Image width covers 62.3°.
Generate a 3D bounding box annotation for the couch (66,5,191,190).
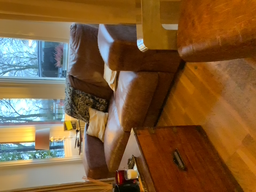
[{"bbox_3d":[-0.190,0.080,2.220,0.910,0.740,1.610,-113,31,-47],"label":"couch"}]
